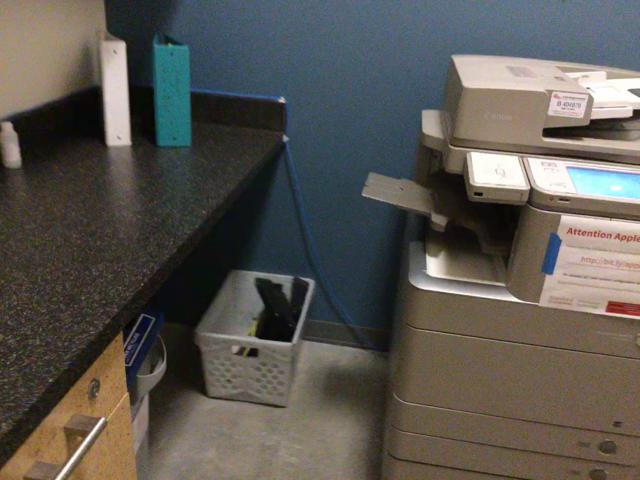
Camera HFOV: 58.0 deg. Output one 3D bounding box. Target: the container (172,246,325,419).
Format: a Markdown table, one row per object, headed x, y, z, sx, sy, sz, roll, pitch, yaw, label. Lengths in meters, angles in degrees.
| x | y | z | sx | sy | sz | roll | pitch | yaw | label |
| --- | --- | --- | --- | --- | --- | --- | --- | --- | --- |
| -0.240 | 0.310 | 2.090 | 0.420 | 0.380 | 0.450 | 8 | 23 | 8 | container |

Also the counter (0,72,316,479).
| x | y | z | sx | sy | sz | roll | pitch | yaw | label |
| --- | --- | --- | --- | --- | --- | --- | --- | --- | --- |
| -0.700 | 0.320 | 0.300 | 0.690 | 0.310 | 3.860 | 8 | 23 | 8 | counter |

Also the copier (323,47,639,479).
| x | y | z | sx | sy | sz | roll | pitch | yaw | label |
| --- | --- | --- | --- | --- | --- | --- | --- | --- | --- |
| 0.670 | 0.170 | 1.590 | 1.160 | 1.190 | 0.680 | 8 | 23 | 8 | copier |
